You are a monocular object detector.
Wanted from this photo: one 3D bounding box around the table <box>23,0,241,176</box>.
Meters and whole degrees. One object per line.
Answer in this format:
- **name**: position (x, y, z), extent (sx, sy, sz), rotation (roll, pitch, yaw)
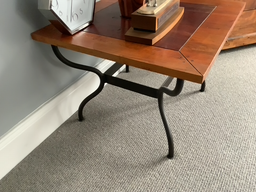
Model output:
- **table**: position (0.060, -0.150, 1.020), extent (0.650, 0.480, 0.640), rotation (20, 46, 26)
